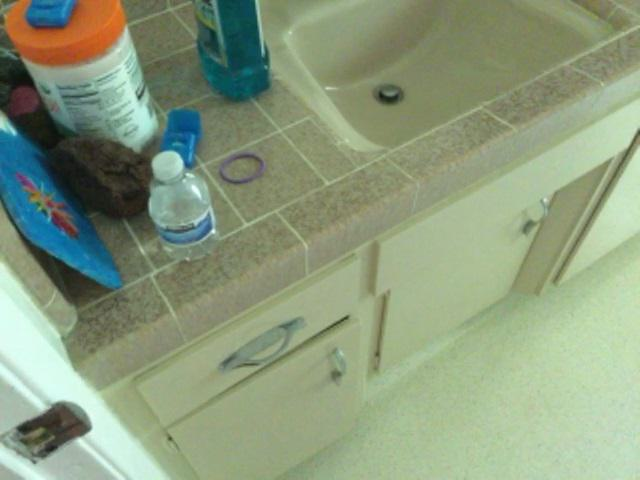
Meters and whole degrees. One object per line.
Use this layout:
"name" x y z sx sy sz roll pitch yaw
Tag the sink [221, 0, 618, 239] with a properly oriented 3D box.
"sink" 0.140 -0.270 0.910 0.460 0.190 0.330 -27 56 -16
